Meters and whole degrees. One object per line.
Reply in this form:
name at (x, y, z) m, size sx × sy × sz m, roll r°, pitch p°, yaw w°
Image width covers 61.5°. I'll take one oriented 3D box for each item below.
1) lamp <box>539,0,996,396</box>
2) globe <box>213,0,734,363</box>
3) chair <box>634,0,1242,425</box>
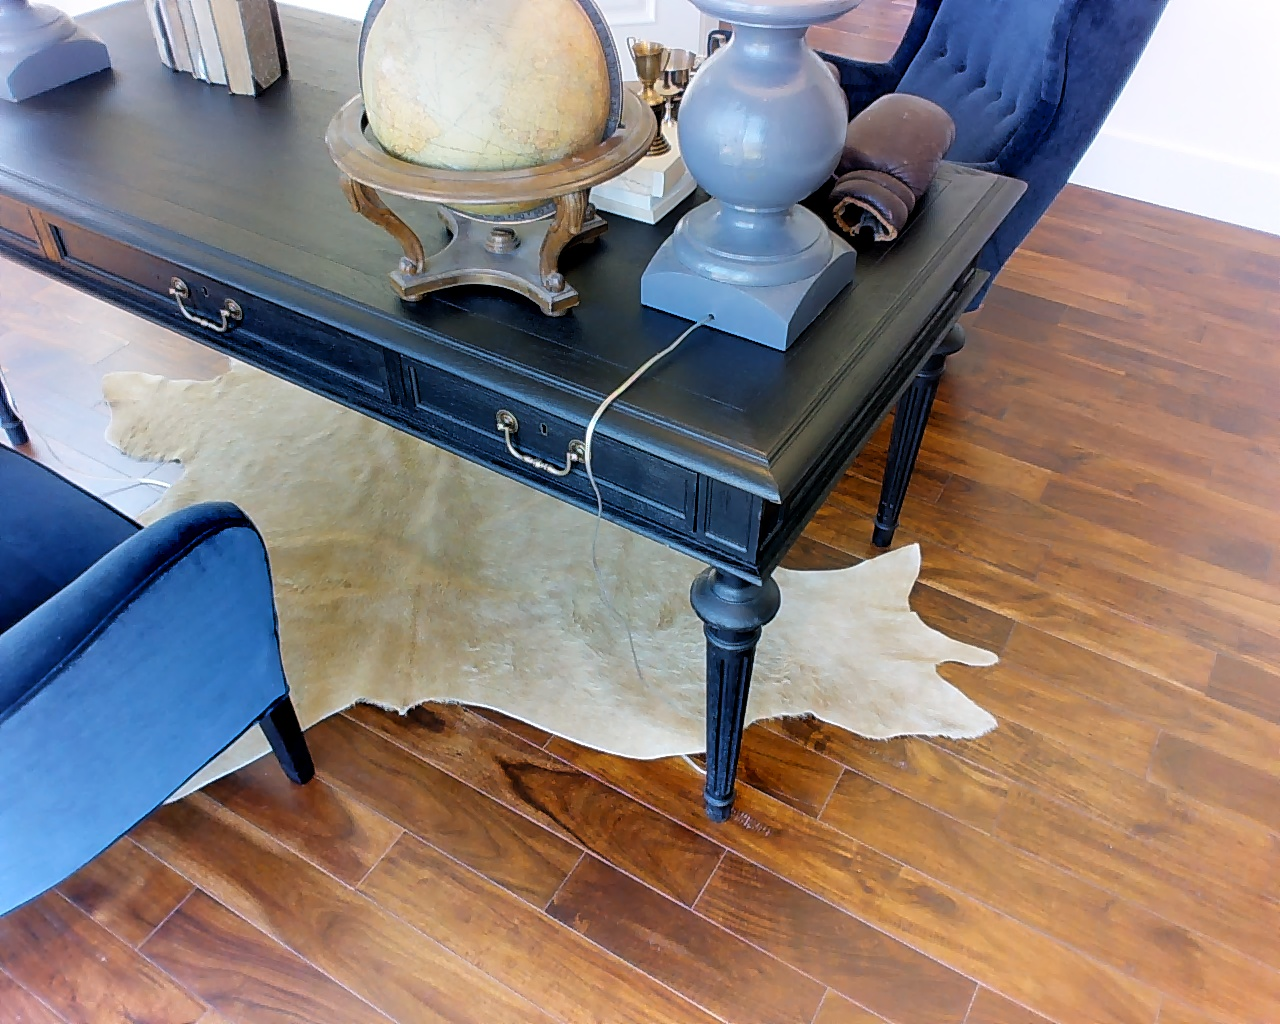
lamp at (0.160, -0.580, 1.240) m, size 0.390 × 0.700 × 0.400 m, roll 22°, pitch 46°, yaw 22°
globe at (-0.180, -0.510, 1.360) m, size 0.440 × 0.370 × 0.430 m, roll 21°, pitch 46°, yaw 21°
chair at (0.590, -0.920, 2.600) m, size 1.030 × 0.970 × 0.840 m, roll -9°, pitch 43°, yaw -11°
